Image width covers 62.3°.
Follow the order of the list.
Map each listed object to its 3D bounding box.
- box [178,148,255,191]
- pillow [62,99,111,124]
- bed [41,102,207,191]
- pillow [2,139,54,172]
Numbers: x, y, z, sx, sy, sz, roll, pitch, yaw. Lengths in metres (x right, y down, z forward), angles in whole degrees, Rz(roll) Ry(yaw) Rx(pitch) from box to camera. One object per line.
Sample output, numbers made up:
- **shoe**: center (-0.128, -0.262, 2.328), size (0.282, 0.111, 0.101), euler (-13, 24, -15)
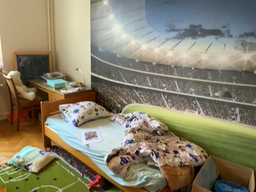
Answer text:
- **box**: center (0.810, 0.860, 1.860), size (0.500, 0.440, 0.630), euler (17, 21, 39)
- **pillow**: center (-0.550, 0.190, 2.840), size (0.540, 0.140, 0.360), euler (-11, 21, -42)
- **bed**: center (-0.170, 0.620, 2.580), size (1.850, 0.500, 0.930), euler (17, 21, 41)
- **pillow**: center (-1.210, 0.710, 2.600), size (0.430, 0.130, 0.380), euler (9, 17, 18)
